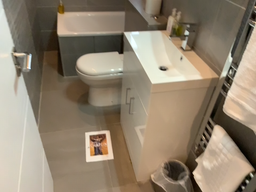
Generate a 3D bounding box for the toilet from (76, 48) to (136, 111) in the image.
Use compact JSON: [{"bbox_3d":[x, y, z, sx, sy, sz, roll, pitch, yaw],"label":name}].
[{"bbox_3d":[-0.230,-0.170,2.090,0.500,0.460,0.370,-5,39,-13],"label":"toilet"}]
